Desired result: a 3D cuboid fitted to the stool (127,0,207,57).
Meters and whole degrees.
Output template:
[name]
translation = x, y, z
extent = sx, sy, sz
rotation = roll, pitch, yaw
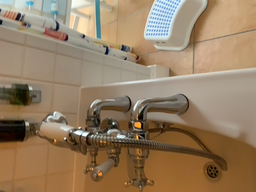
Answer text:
[stool]
translation = 0.200, -0.430, 1.140
extent = 0.310, 0.140, 0.330
rotation = 36, 111, 41
